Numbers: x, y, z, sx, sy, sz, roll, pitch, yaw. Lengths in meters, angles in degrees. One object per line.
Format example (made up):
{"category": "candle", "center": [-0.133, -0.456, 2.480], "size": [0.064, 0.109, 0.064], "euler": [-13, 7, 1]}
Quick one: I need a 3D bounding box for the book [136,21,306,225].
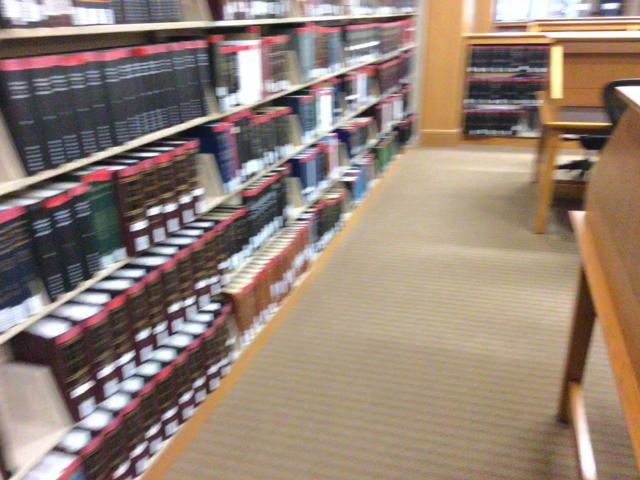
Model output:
{"category": "book", "center": [-0.340, -0.540, 2.420], "size": [0.240, 0.650, 0.930], "euler": [4, 24, 17]}

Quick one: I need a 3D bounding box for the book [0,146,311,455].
{"category": "book", "center": [-0.440, 0.030, 2.210], "size": [0.250, 0.350, 1.790], "euler": [4, 24, 17]}

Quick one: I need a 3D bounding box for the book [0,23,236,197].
{"category": "book", "center": [-0.550, -0.430, 1.650], "size": [0.160, 0.290, 1.040], "euler": [4, 24, 17]}

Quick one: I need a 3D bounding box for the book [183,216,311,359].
{"category": "book", "center": [-0.300, 0.180, 2.700], "size": [0.250, 0.300, 0.830], "euler": [4, 24, 17]}

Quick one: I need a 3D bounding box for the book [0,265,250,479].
{"category": "book", "center": [-0.680, 0.610, 1.500], "size": [0.250, 0.340, 1.810], "euler": [4, 24, 17]}

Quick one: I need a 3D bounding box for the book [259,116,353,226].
{"category": "book", "center": [-0.040, -0.440, 3.350], "size": [0.190, 0.340, 1.080], "euler": [4, 24, 17]}
